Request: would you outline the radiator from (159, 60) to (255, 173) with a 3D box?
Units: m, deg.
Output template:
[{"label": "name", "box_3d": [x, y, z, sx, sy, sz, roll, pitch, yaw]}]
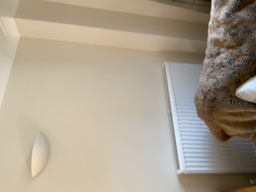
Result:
[{"label": "radiator", "box_3d": [0.730, 0.150, 1.850, 0.120, 0.810, 0.970, 114, 157, -60]}]
